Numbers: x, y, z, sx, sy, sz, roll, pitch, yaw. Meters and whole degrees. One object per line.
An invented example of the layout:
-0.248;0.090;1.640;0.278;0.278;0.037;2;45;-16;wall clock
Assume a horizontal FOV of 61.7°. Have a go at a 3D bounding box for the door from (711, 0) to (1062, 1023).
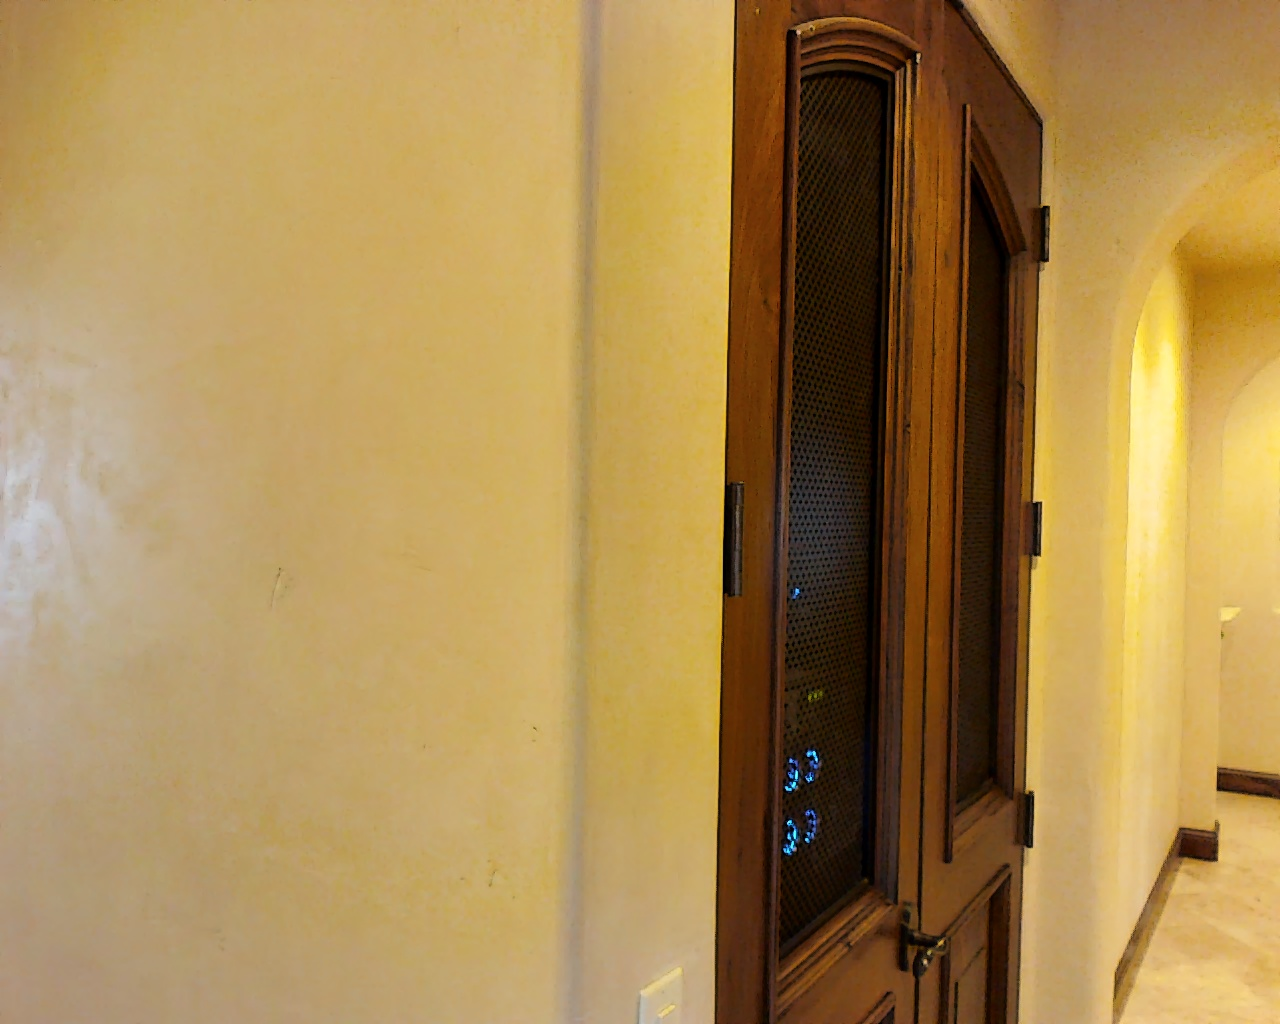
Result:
0.470;0.390;1.730;0.080;2.380;1.330;2;1;32;door
